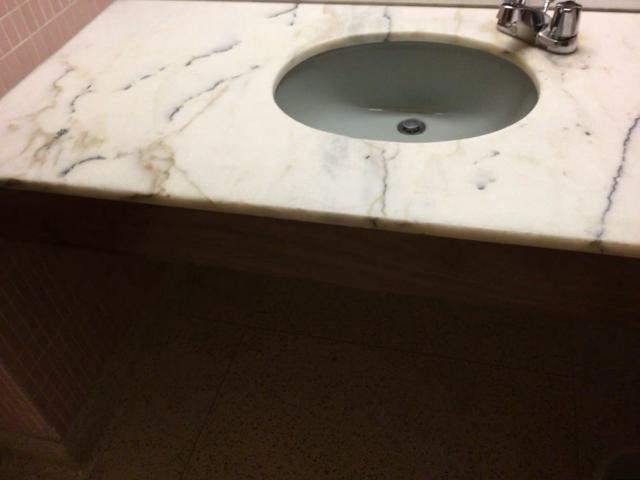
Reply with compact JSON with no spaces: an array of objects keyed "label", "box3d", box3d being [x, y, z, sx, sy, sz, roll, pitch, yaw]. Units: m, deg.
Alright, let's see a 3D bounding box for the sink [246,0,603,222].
[{"label":"sink","box3d":[0.170,-0.250,0.960,0.470,0.240,0.320,7,45,13]}]
